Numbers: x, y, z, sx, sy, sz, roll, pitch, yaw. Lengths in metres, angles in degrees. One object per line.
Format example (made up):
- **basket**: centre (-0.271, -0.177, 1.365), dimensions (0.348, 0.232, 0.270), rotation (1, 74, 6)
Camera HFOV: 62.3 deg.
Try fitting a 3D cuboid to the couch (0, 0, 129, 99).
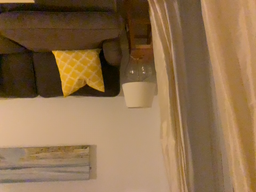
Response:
- **couch**: centre (-1.030, -0.470, 2.110), dimensions (1.950, 0.850, 1.220), rotation (-1, 173, -5)
